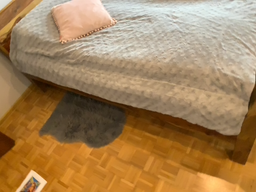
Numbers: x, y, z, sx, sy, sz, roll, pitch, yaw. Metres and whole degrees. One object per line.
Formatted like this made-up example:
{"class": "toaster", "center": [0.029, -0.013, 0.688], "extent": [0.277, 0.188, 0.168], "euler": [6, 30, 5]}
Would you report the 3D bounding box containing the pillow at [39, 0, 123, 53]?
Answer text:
{"class": "pillow", "center": [-0.390, -0.660, 1.710], "extent": [0.510, 0.180, 0.480], "euler": [-32, 50, -6]}
